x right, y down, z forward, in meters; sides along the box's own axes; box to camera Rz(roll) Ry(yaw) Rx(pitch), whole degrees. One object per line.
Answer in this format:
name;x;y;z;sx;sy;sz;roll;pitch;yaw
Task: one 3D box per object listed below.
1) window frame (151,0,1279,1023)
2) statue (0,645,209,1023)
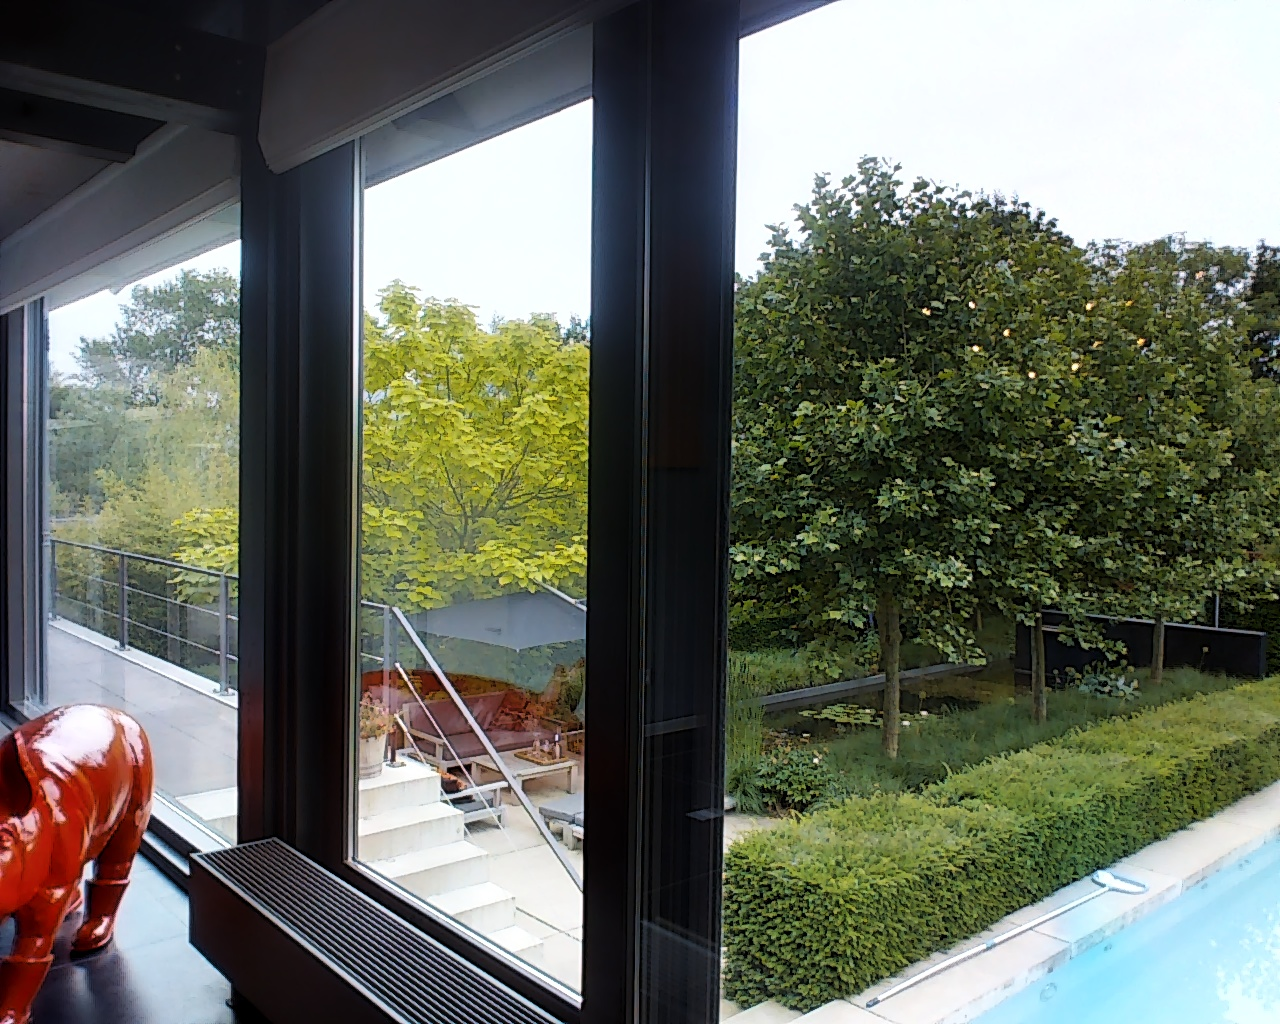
window frame;-0.170;0.100;1.960;0.450;2.290;3.000;-1;3;-41
statue;-1.550;0.830;2.820;0.500;0.760;1.270;1;2;-9
